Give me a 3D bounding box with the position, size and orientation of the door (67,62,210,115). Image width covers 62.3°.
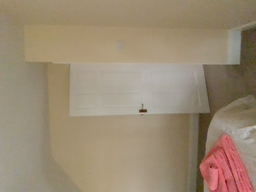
[{"bbox_3d":[0.160,-0.130,3.060,0.100,1.990,0.750,111,157,-70],"label":"door"}]
